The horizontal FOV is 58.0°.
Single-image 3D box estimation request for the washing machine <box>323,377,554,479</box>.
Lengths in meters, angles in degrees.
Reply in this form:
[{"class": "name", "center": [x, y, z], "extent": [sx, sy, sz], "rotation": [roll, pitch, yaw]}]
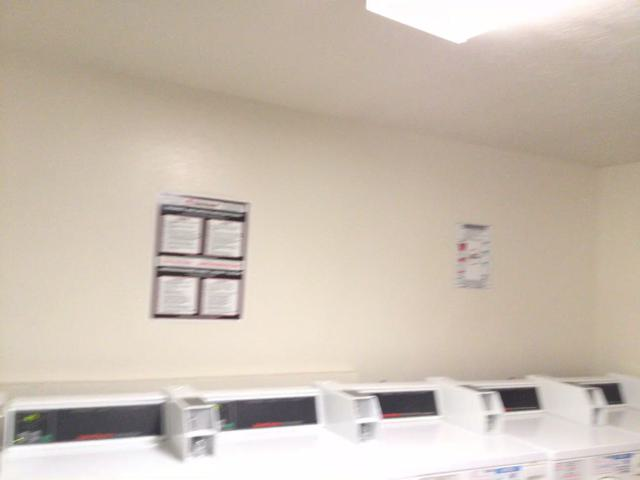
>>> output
[{"class": "washing machine", "center": [0.500, 1.210, 2.530], "extent": [0.670, 1.040, 0.750], "rotation": [0, -5, -25]}]
